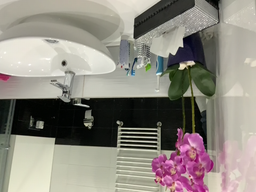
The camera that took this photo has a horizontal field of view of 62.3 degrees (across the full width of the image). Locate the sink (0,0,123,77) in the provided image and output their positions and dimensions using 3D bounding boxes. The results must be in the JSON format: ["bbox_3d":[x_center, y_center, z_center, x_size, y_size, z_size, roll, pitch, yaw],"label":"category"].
[{"bbox_3d":[-0.360,-0.210,0.890,0.590,0.140,0.370,0,167,17],"label":"sink"}]

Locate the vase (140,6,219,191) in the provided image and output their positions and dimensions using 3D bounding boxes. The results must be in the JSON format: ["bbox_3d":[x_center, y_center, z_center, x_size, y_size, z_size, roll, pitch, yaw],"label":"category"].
[{"bbox_3d":[0.210,0.040,0.870,0.230,0.650,0.360,0,167,14],"label":"vase"}]
